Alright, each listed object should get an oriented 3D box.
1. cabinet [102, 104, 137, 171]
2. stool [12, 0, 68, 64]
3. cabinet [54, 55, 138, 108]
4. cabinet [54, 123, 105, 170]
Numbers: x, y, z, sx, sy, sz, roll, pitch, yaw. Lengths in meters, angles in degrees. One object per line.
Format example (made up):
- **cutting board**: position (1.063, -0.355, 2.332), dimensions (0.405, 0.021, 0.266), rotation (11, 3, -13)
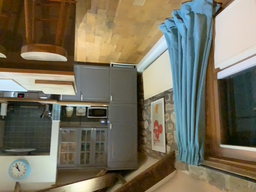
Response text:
- **cabinet**: position (-0.200, 0.880, 4.670), dimensions (0.660, 1.340, 0.650), rotation (2, 171, -11)
- **stool**: position (-0.760, -0.760, 1.930), dimensions (0.360, 0.830, 0.360), rotation (2, 171, -11)
- **cabinet**: position (-0.680, -0.270, 4.720), dimensions (1.680, 0.940, 0.700), rotation (2, 171, -11)
- **cabinet**: position (-1.030, 1.060, 4.580), dimensions (0.980, 0.940, 0.450), rotation (2, 171, -11)
